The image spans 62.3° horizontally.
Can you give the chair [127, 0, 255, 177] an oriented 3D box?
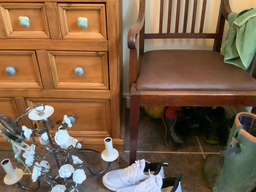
[{"bbox_3d":[0.310,-0.210,1.020,0.590,1.030,0.590,2,32,1],"label":"chair"}]
